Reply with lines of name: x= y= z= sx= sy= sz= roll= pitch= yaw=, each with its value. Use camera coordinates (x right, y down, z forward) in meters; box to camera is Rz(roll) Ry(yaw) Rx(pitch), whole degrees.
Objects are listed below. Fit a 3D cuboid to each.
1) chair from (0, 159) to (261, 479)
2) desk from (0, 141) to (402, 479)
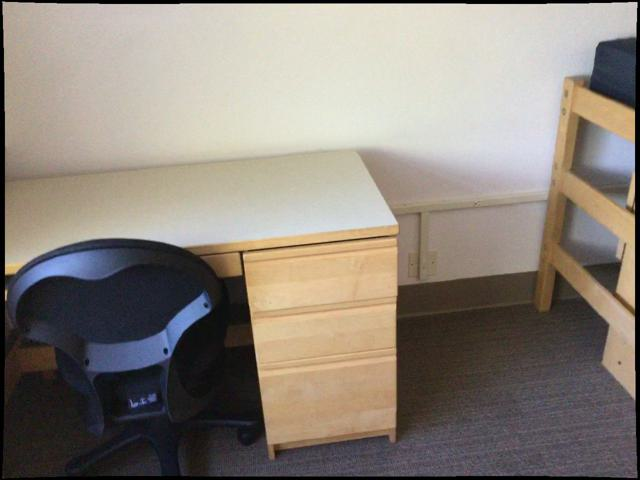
chair: x=-0.539 y=0.301 z=1.670 sx=0.618 sy=0.862 sz=0.560 roll=-7 pitch=28 yaw=-3
desk: x=-0.499 y=0.241 z=1.890 sx=1.377 sy=0.782 sz=0.720 roll=-7 pitch=28 yaw=-4
